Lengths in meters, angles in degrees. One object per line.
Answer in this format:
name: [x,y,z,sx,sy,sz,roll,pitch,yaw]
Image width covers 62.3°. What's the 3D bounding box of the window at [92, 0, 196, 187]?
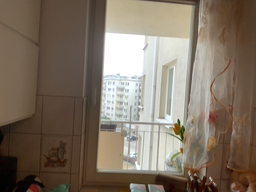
window: [0.110,-0.030,1.590,0.660,1.350,0.150,4,2,-4]
